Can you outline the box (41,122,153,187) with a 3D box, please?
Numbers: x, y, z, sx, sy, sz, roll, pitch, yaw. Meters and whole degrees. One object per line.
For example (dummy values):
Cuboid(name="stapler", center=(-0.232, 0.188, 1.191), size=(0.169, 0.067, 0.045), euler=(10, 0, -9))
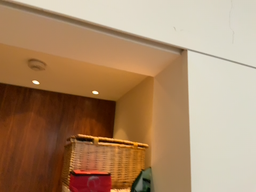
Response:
Cuboid(name="box", center=(-0.220, 0.410, 1.420), size=(0.580, 0.320, 0.520), euler=(11, -20, -25))
